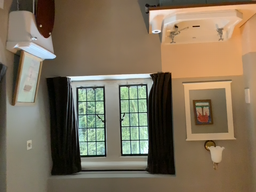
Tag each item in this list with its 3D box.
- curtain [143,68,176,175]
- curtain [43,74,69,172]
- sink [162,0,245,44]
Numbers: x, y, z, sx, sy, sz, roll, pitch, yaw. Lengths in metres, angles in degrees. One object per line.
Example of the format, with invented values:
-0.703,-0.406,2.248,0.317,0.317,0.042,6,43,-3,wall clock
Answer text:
0.340,0.270,2.310,0.300,1.140,0.070,-2,178,3,curtain
-0.810,0.300,2.400,0.240,1.070,0.090,-2,178,4,curtain
0.670,-0.720,2.030,0.640,0.270,0.480,-2,178,5,sink
